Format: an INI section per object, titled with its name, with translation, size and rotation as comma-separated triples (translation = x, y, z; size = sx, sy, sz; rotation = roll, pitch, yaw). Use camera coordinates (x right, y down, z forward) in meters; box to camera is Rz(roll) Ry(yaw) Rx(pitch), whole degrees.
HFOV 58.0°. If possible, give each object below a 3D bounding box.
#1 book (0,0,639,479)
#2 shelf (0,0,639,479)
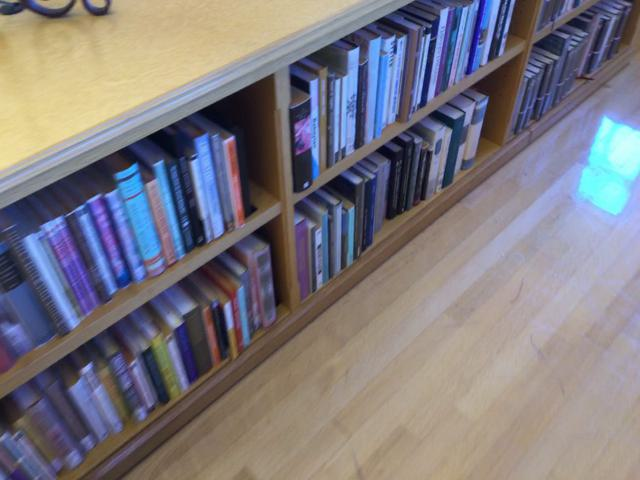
[book]
translation = 0.210, -0.280, 1.420
size = 2.640, 0.700, 0.240
rotation = -35, 56, -28
[shelf]
translation = -0.030, -0.500, 1.500
size = 2.710, 0.870, 0.860
rotation = -35, 56, -28
